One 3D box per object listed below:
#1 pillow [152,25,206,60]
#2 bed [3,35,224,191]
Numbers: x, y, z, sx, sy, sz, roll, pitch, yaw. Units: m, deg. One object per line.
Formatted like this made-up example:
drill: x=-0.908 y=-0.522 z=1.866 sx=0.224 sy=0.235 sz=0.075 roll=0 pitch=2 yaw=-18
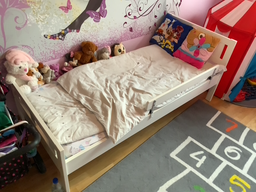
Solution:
pillow: x=0.490 y=-0.530 z=2.120 sx=0.140 sy=0.300 sz=0.510 roll=-7 pitch=16 yaw=-40
bed: x=-0.010 y=-0.030 z=1.870 sx=1.680 sy=0.410 sz=0.800 roll=-25 pitch=49 yaw=-34
